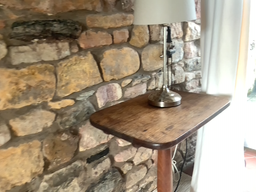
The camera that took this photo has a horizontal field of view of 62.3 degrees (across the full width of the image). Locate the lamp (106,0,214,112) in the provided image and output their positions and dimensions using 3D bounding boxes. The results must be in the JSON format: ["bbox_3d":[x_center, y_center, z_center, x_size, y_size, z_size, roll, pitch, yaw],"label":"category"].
[{"bbox_3d":[0.140,-0.260,0.910,0.320,0.540,0.300,12,22,43],"label":"lamp"}]

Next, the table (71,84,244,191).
[{"bbox_3d":[0.160,0.380,0.990,0.480,0.720,0.560,11,22,43],"label":"table"}]
